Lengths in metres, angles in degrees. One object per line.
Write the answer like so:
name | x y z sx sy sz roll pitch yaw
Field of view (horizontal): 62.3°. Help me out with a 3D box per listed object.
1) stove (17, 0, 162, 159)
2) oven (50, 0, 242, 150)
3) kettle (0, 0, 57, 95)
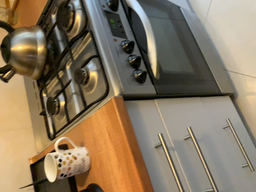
stove | -0.230 -0.090 0.850 0.620 0.170 0.500 -35 66 41
oven | 0.080 -0.100 1.150 0.610 0.690 0.500 -35 66 41
kettle | -0.450 -0.170 0.810 0.230 0.220 0.260 -35 66 41
